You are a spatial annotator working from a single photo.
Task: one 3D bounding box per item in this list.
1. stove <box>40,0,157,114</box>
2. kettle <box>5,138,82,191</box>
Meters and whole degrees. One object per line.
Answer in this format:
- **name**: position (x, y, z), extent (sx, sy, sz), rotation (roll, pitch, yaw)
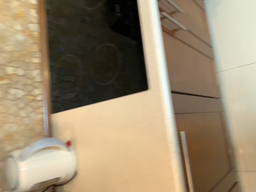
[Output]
- **stove**: position (-0.170, -0.260, 0.850), extent (0.530, 0.040, 0.590), rotation (-14, 79, 35)
- **kettle**: position (-0.310, 0.250, 0.790), extent (0.150, 0.210, 0.140), rotation (-16, 78, 35)
